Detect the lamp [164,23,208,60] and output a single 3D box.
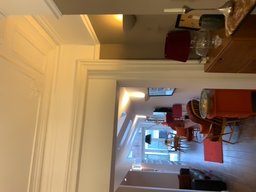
[{"bbox_3d":[0.670,-0.640,2.530,0.370,0.450,0.290,67,-155,-78],"label":"lamp"}]
